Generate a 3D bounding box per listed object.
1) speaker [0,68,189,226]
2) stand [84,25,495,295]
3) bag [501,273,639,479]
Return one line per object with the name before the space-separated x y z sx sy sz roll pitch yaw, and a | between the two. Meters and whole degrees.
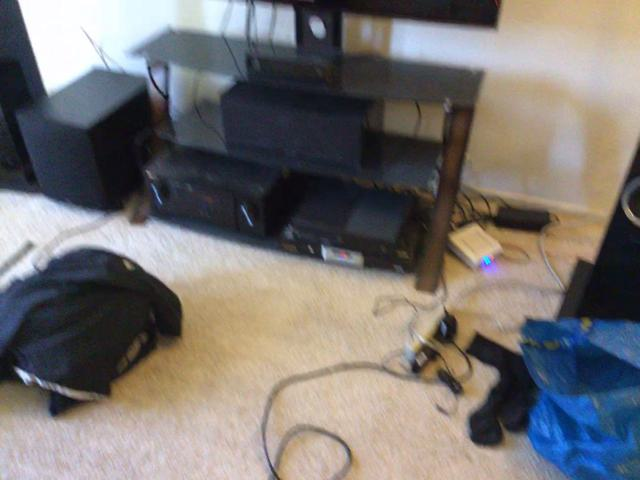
speaker | -0.820 -0.360 2.120 0.440 0.380 0.440 10 36 18
stand | -0.080 -0.320 1.970 1.180 0.620 0.500 10 36 18
bag | 0.790 0.380 1.300 0.610 0.260 0.450 15 38 25
